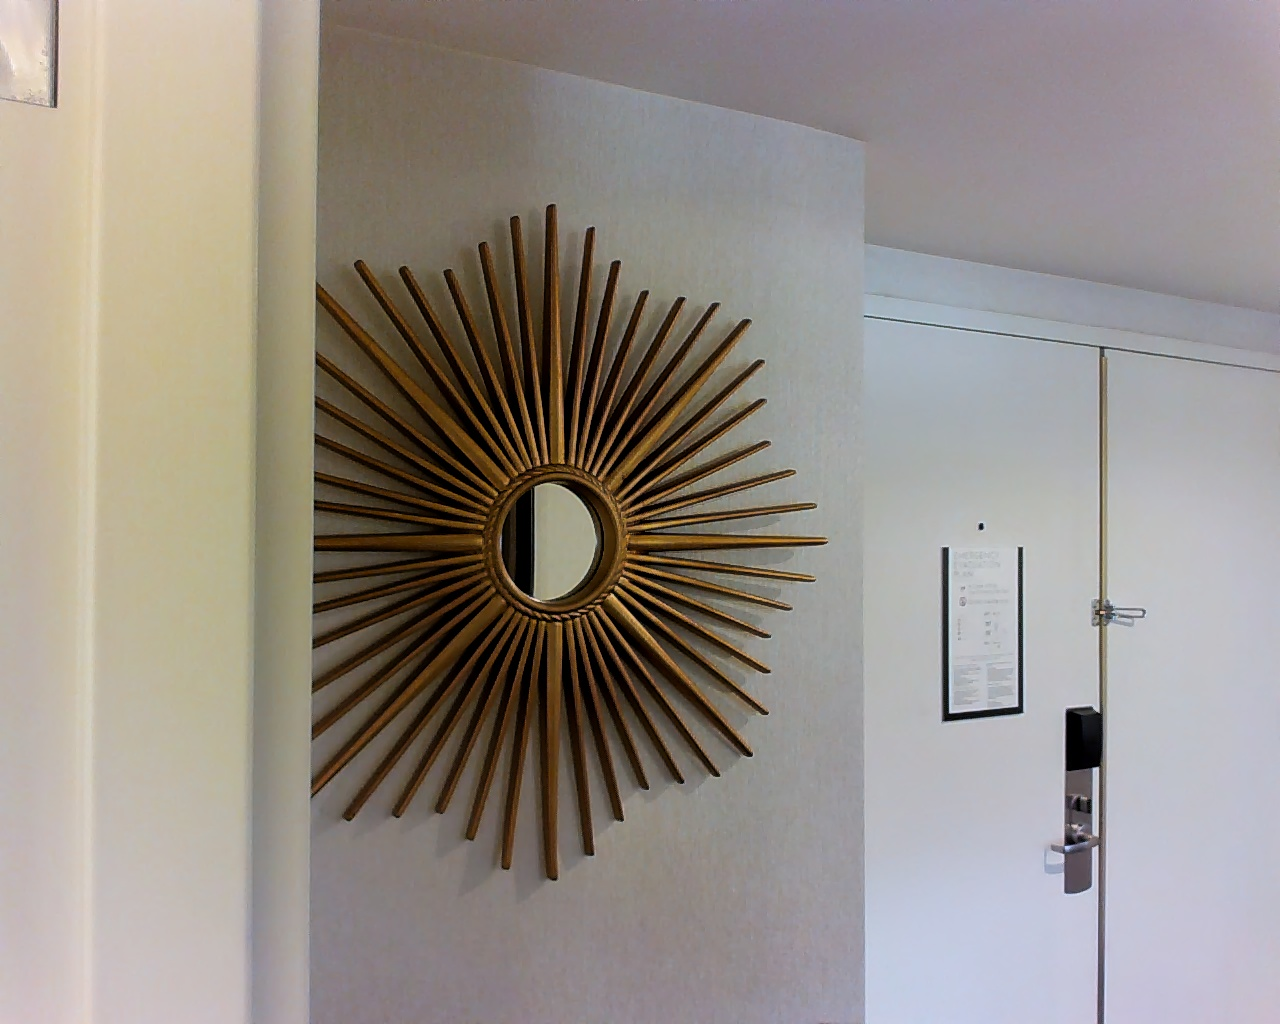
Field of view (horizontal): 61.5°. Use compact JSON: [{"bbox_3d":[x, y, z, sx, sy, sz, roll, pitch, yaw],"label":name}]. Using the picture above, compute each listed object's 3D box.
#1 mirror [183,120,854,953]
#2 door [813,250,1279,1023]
[{"bbox_3d":[-0.100,0.030,1.390,0.890,0.890,0.070,1,0,-28],"label":"mirror"},{"bbox_3d":[1.110,0.550,2.520,1.660,2.100,0.100,1,0,-28],"label":"door"}]
